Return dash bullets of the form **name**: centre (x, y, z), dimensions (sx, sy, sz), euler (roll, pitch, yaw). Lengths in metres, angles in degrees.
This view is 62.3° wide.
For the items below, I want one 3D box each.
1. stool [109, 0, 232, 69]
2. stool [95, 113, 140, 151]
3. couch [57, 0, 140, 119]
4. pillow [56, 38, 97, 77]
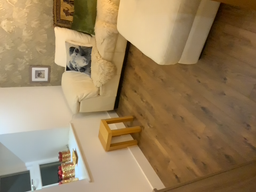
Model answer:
- **stool**: centre (0.300, -0.830, 1.720), dimensions (0.930, 0.460, 0.900), euler (50, 135, 48)
- **stool**: centre (-0.140, 0.440, 2.650), dimensions (0.280, 0.450, 0.300), euler (47, 133, 49)
- **couch**: centre (-0.500, -0.850, 2.970), dimensions (1.030, 0.680, 2.060), euler (49, 134, 48)
- **pillow**: centre (-0.720, -0.540, 2.990), dimensions (0.160, 0.380, 0.370), euler (30, 163, 52)
